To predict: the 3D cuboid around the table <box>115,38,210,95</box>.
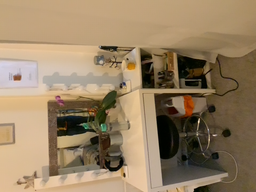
[{"bbox_3d":[0.300,-0.240,2.000,0.500,0.690,0.390,165,102,-67],"label":"table"}]
